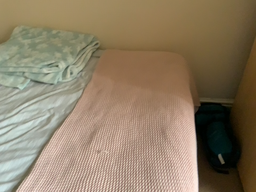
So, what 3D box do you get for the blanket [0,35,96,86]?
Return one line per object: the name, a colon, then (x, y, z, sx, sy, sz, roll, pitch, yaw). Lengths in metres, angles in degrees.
blanket: (-0.560, -0.230, 1.260, 0.640, 0.100, 0.380, 4, 38, 8)
